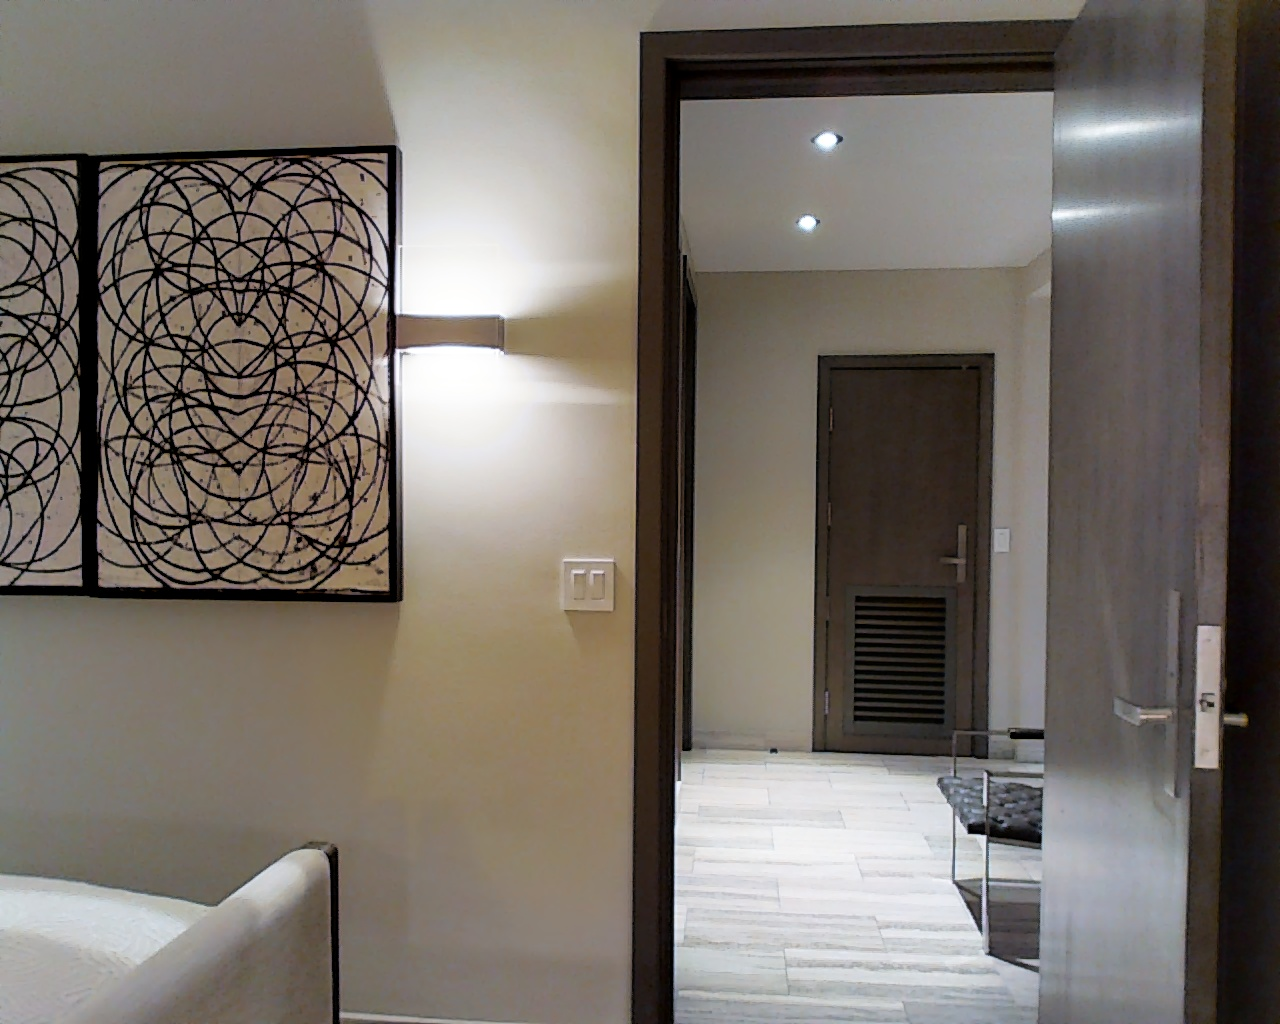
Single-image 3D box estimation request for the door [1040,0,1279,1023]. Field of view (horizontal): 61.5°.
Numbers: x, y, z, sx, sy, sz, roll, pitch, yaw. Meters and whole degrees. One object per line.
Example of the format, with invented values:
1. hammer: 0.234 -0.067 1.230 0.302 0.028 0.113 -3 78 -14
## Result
1. door: 0.920 0.130 1.970 0.130 2.390 0.980 1 1 9
